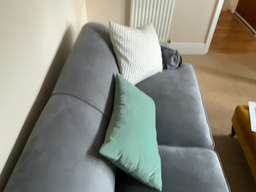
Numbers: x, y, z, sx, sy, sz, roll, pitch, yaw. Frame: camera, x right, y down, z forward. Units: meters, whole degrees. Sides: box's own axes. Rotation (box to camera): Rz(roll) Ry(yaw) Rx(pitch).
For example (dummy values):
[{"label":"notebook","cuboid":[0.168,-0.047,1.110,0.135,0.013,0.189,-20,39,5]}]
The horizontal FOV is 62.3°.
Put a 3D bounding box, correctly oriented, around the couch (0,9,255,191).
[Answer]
[{"label":"couch","cuboid":[0.070,0.260,1.280,0.990,0.810,1.810,4,43,0]}]
